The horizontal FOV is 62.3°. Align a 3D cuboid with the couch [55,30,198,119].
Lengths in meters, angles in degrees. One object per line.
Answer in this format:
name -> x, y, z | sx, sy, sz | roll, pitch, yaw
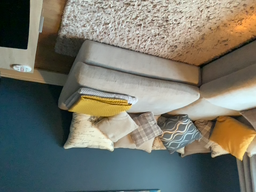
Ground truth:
couch -> -0.080, -0.100, 2.330 | 1.210, 0.460, 1.050 | 9, 163, -24
